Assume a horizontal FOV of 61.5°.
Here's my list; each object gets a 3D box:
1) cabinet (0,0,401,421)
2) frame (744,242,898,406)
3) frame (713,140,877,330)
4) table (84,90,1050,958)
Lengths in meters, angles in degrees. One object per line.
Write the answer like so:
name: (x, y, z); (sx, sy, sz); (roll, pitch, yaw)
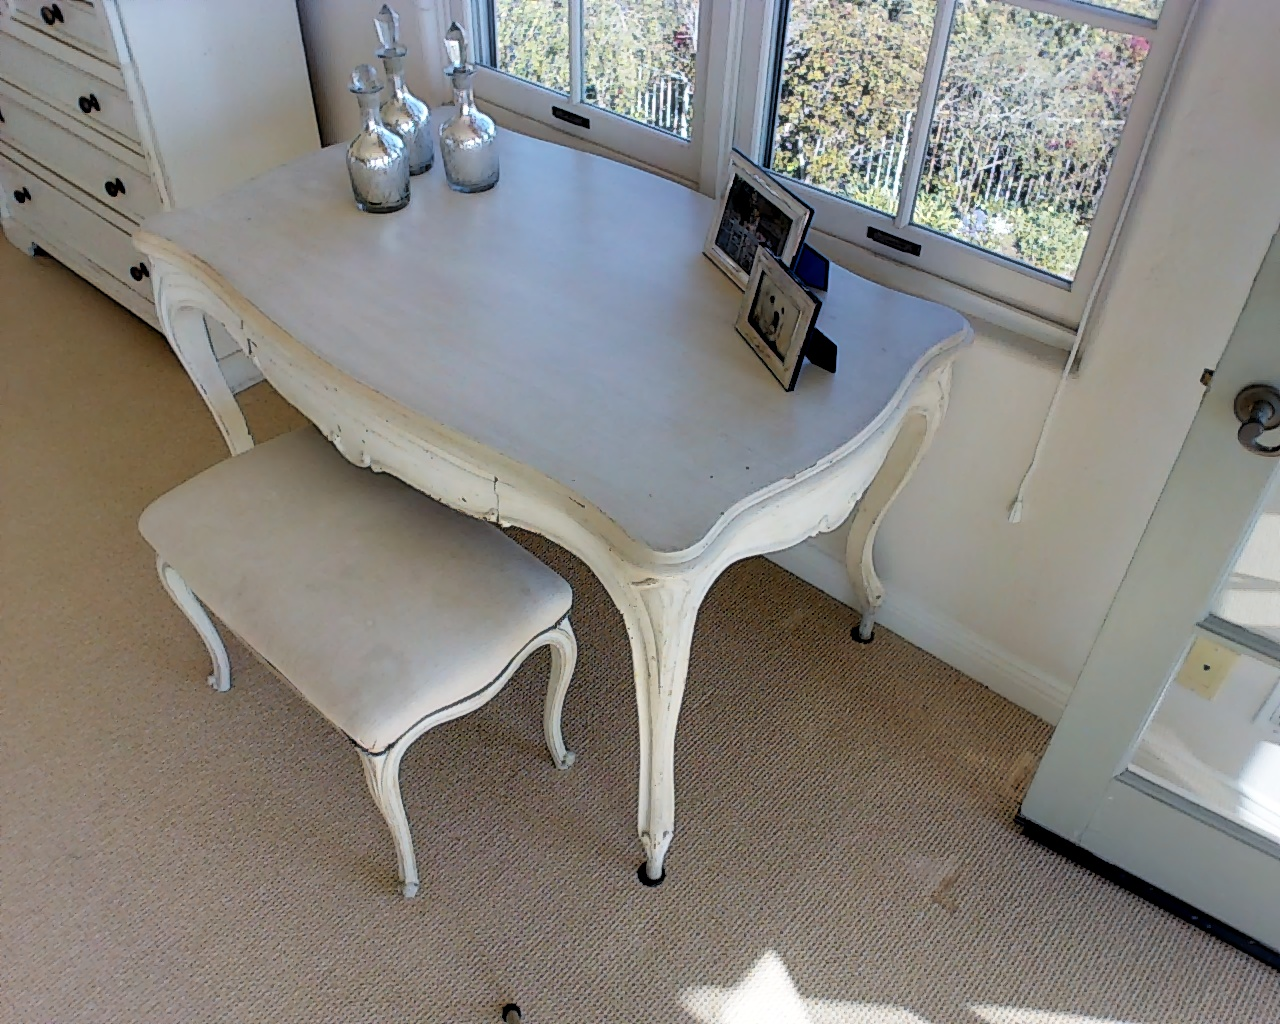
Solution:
cabinet: (-1.340, -1.040, 2.800); (1.370, 1.030, 0.520); (30, 49, 29)
frame: (0.250, -0.270, 1.530); (0.150, 0.140, 0.190); (-6, 42, -8)
frame: (0.230, -0.430, 1.660); (0.160, 0.190, 0.220); (-10, 43, -13)
table: (-0.160, -0.100, 1.960); (1.330, 0.780, 0.820); (30, 49, 29)
